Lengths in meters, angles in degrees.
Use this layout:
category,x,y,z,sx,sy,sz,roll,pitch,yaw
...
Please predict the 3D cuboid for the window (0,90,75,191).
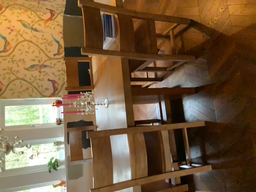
category,x,y,z,sx,sy,sz,roll,pitch,yaw
window,-1.510,1.410,3.510,0.320,1.160,2.980,159,108,-65
